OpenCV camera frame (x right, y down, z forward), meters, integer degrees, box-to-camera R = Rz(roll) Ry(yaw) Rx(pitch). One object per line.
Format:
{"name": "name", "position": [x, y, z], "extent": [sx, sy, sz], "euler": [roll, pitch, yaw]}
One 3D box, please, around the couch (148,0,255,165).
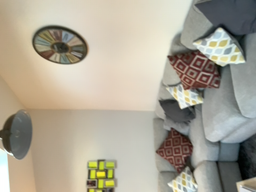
{"name": "couch", "position": [0.900, -0.030, 2.430], "extent": [3.000, 0.860, 1.010], "euler": [97, 173, -61]}
